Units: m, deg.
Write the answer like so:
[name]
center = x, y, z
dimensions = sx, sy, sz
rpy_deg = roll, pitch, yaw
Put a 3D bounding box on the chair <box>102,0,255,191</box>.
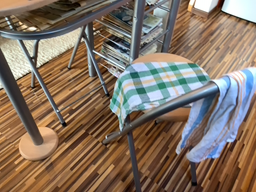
[chair]
center = 0.120, 0.100, 0.800
dimensions = 0.330, 0.750, 0.400
rpy_deg = -12, 50, -16
